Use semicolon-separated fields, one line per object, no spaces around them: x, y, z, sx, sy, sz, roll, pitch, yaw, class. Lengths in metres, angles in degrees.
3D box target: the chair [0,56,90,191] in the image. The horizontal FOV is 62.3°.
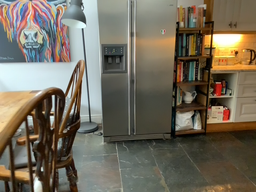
-0.650;0.290;1.700;0.600;1.150;0.520;-4;15;-13;chair
